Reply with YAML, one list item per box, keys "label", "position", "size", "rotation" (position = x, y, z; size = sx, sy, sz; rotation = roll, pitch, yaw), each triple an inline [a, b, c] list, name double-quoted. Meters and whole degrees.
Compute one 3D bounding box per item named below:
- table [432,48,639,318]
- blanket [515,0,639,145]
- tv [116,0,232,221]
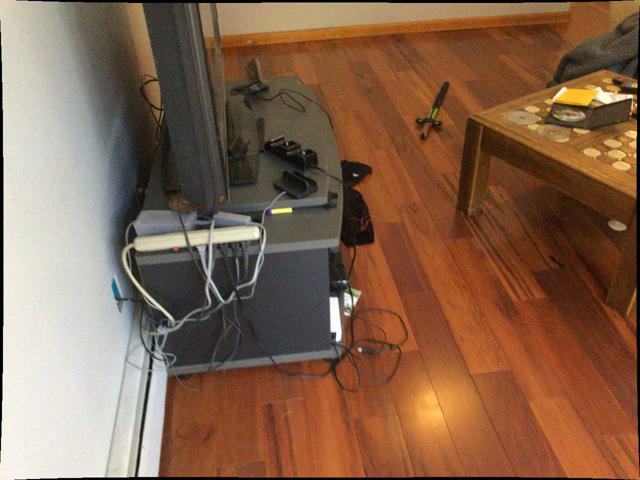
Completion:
- label: "table"
  position: [1.139, -0.300, 2.260]
  size: [0.890, 0.480, 0.990]
  rotation: [-25, 43, -29]
- label: "blanket"
  position: [1.619, -0.951, 3.080]
  size: [0.780, 0.530, 0.690]
  rotation: [27, 44, 32]
- label: "tv"
  position: [-0.400, -0.671, 1.660]
  size: [0.170, 0.710, 1.130]
  rotation: [-6, 36, -7]
